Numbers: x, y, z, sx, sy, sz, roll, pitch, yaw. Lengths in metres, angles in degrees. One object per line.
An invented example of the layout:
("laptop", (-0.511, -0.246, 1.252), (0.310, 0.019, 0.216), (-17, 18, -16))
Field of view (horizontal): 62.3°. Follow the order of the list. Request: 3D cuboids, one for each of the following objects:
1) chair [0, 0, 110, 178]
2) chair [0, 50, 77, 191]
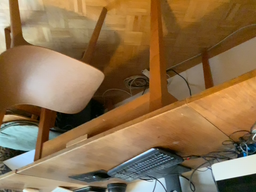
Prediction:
("chair", (-0.420, -0.080, 1.020), (0.530, 0.780, 0.480), (12, 145, -22))
("chair", (-0.700, 0.190, 1.430), (0.440, 0.760, 0.450), (-26, 141, 32))
